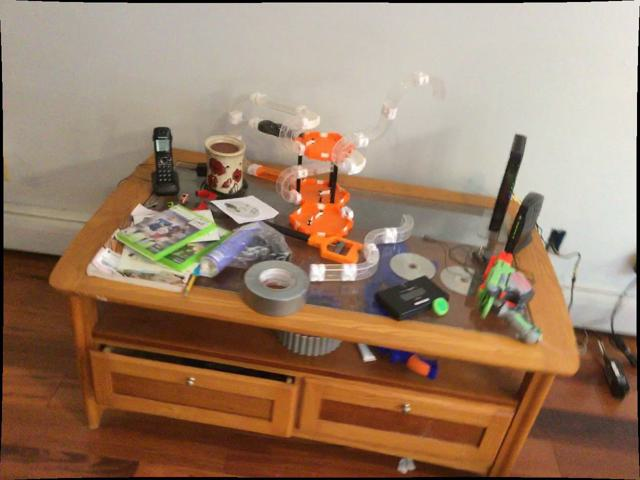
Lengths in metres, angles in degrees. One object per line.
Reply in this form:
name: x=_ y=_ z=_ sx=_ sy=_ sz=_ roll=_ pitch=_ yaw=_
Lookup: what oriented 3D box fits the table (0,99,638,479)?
table: x=-0.010 y=0.120 z=1.640 sx=1.249 sy=0.640 sz=0.840 roll=7 pitch=33 yaw=0
